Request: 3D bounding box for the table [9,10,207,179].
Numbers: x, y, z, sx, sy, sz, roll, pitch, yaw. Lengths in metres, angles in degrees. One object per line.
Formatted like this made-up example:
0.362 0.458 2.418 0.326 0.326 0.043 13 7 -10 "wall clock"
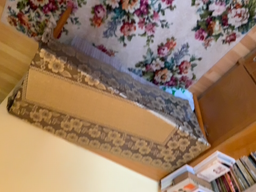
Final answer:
-0.090 0.030 1.470 1.070 0.540 0.520 30 125 -18 "table"
